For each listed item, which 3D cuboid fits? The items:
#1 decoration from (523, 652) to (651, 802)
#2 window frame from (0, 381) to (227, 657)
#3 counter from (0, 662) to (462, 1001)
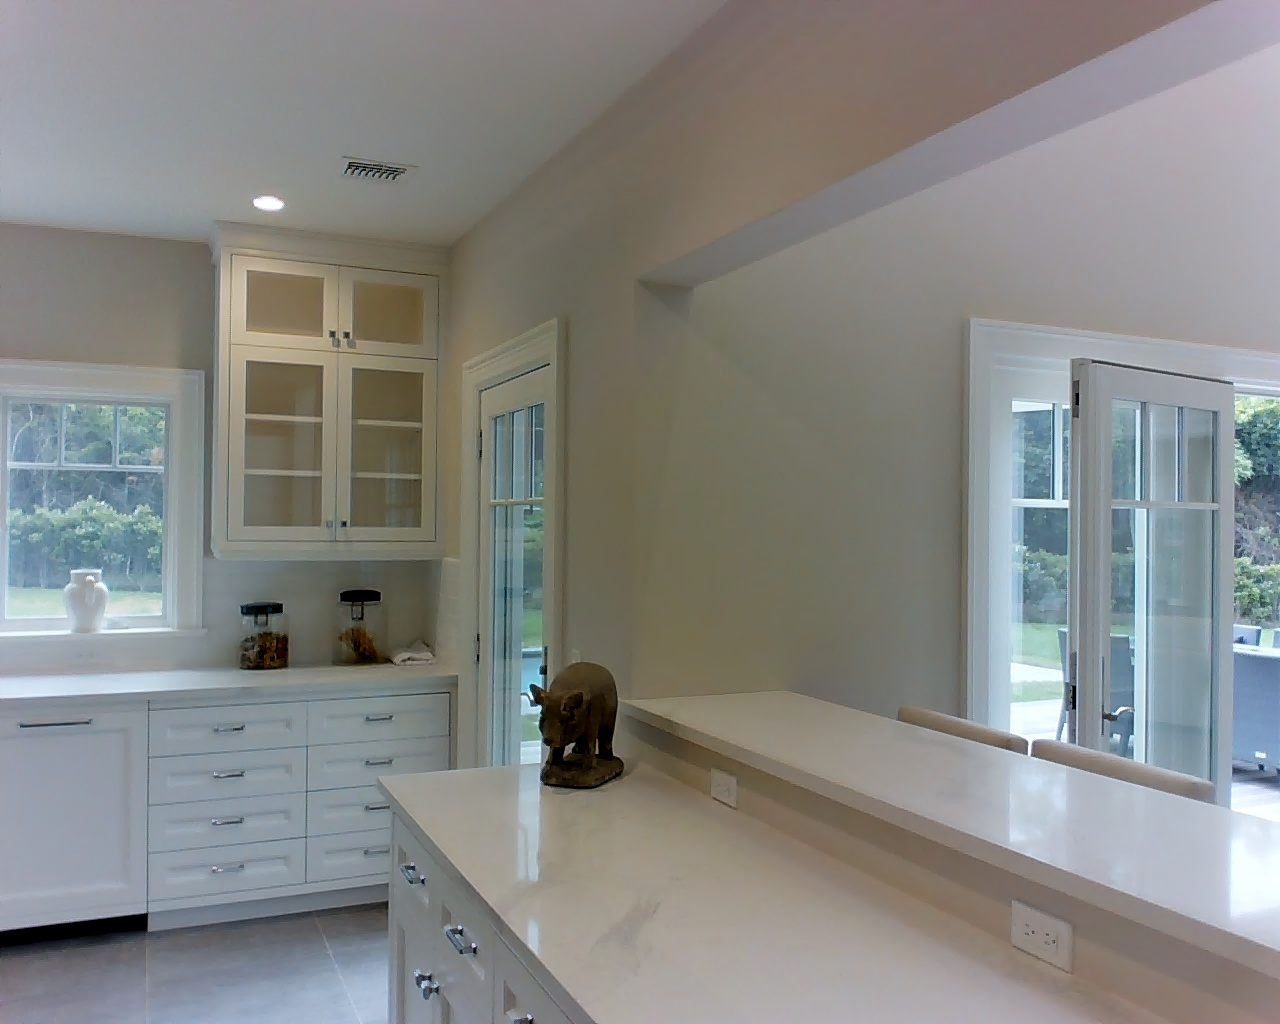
[{"bbox_3d":[-0.120,0.510,2.620,0.220,0.290,0.360,0,-1,13],"label":"decoration"},{"bbox_3d":[-3.020,0.020,4.170,2.620,1.090,0.230,1,-1,-24],"label":"window frame"},{"bbox_3d":[-2.880,1.170,3.780,4.419,1.030,0.640,1,-1,-24],"label":"counter"}]
